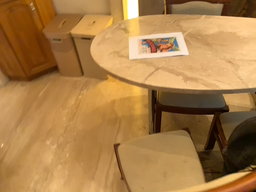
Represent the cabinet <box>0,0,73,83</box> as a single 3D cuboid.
[{"bbox_3d":[-1.040,-0.650,2.200,0.560,0.850,0.550,5,48,10],"label":"cabinet"}]
